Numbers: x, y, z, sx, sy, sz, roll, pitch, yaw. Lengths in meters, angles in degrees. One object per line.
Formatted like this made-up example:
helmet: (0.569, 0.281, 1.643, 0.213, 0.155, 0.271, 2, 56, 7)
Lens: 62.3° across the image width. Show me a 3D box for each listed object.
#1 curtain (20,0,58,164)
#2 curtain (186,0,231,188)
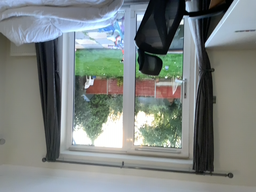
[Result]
curtain: (-1.140, -0.240, 2.730, 0.360, 2.140, 0.200, 1, 180, 10)
curtain: (0.910, -0.160, 2.440, 0.420, 2.290, 0.250, 1, 180, 12)
